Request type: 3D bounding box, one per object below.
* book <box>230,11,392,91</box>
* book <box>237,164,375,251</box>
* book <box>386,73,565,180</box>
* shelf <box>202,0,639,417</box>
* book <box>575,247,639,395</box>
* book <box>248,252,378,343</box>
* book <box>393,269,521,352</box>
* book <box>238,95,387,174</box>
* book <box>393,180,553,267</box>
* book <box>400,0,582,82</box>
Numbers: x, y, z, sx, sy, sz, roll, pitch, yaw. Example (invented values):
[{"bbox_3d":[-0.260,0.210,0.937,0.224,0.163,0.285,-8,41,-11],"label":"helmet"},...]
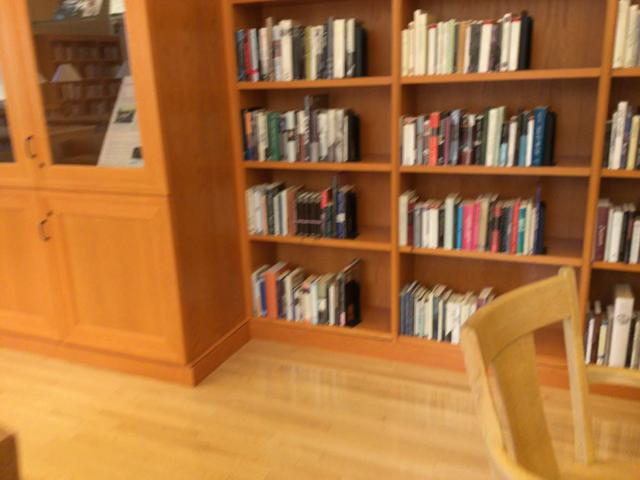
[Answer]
[{"bbox_3d":[-0.040,-0.840,2.610,0.680,0.290,0.240,5,17,25],"label":"book"},{"bbox_3d":[-0.060,-0.180,2.870,0.580,0.340,0.330,5,17,25],"label":"book"},{"bbox_3d":[0.660,-0.490,2.480,0.680,0.400,0.300,5,17,25],"label":"book"},{"bbox_3d":[0.790,-0.500,2.450,2.560,2.220,0.600,5,17,25],"label":"shelf"},{"bbox_3d":[1.460,0.340,2.330,0.750,0.480,0.390,5,17,25],"label":"book"},{"bbox_3d":[-0.030,0.280,3.000,0.570,0.310,0.330,5,17,25],"label":"book"},{"bbox_3d":[0.650,0.320,2.740,0.530,0.230,0.310,5,17,25],"label":"book"},{"bbox_3d":[-0.030,-0.510,2.770,0.620,0.320,0.320,5,17,25],"label":"book"},{"bbox_3d":[0.680,-0.090,2.590,0.640,0.290,0.290,5,17,25],"label":"book"},{"bbox_3d":[0.670,-0.790,2.310,0.670,0.270,0.160,5,17,25],"label":"book"}]
